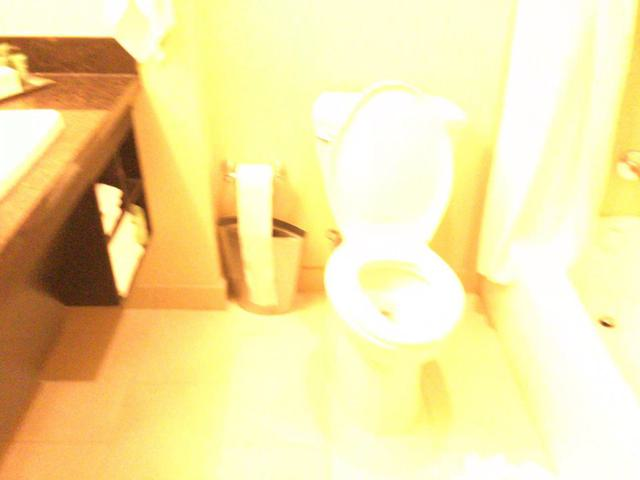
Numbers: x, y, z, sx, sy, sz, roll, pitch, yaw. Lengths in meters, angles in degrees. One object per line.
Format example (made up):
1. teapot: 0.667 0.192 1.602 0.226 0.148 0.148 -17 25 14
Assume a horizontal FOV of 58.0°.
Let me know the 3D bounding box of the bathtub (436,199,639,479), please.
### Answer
1. bathtub: 0.930 0.400 1.530 0.840 0.450 1.370 -1 30 -6

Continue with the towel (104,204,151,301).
1. towel: -0.550 0.030 1.670 0.060 0.160 0.270 -1 30 -6
